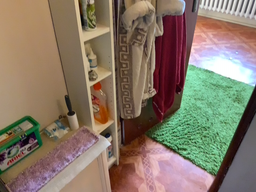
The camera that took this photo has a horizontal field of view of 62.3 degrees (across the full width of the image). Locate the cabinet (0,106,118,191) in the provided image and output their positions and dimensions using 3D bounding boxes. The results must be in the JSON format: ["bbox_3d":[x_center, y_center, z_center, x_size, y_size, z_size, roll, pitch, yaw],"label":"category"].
[{"bbox_3d":[-0.350,0.460,1.180,0.350,0.570,0.460,27,46,31],"label":"cabinet"}]
